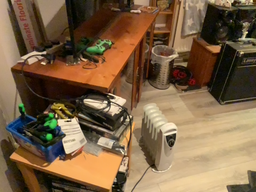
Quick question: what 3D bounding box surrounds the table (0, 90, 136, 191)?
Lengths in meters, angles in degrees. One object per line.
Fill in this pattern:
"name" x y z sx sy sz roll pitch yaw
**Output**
"table" -0.370 0.360 1.180 0.700 0.480 0.470 12 38 12
